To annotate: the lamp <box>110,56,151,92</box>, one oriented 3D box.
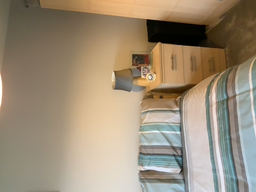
[{"bbox_3d":[0.020,-0.230,2.340,0.270,0.390,0.310,135,136,-72],"label":"lamp"}]
